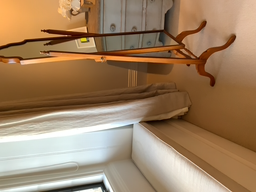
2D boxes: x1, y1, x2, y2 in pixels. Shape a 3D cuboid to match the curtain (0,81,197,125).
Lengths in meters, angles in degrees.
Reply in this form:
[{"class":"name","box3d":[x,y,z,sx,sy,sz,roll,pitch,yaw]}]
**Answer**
[{"class":"curtain","box3d":[-0.490,0.020,1.840,0.560,2.200,0.220,-151,62,-66]}]
